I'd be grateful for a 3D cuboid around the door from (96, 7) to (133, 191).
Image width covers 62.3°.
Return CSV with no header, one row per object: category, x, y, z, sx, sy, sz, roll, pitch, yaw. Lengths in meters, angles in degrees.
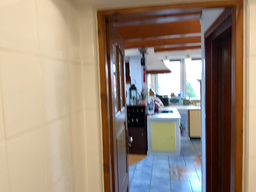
door,-0.060,0.520,1.780,0.070,2.140,0.980,-1,5,7
